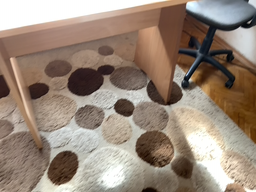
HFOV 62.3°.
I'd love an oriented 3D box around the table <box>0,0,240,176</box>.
[{"bbox_3d":[-0.210,-0.270,1.240,1.210,0.800,0.730,-17,50,-19],"label":"table"}]
